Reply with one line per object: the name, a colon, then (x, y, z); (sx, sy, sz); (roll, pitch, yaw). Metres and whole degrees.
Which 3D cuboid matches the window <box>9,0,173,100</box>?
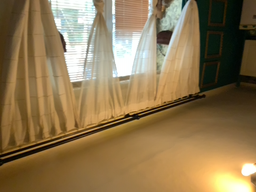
window: (-0.170, -0.830, 2.010); (1.690, 1.460, 0.190); (-13, -159, -41)
